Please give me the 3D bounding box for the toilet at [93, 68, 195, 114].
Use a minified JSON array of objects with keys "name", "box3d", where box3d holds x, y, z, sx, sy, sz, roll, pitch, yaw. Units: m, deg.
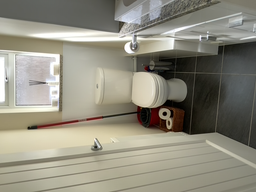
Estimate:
[{"name":"toilet","box3d":[0.120,-0.070,2.140,0.680,0.780,0.360,-166,78,-65]}]
